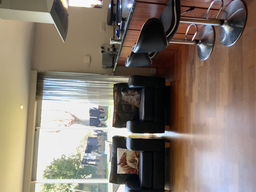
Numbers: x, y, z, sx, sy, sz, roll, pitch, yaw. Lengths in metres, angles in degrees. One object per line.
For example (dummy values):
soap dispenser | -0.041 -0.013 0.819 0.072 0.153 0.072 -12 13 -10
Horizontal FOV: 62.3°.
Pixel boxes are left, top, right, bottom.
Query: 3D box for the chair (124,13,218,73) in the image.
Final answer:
chair | 0.410 -0.560 2.270 0.410 0.840 0.510 -113 27 -72

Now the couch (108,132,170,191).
couch | 0.130 1.130 3.580 0.930 0.860 0.920 150 122 -81

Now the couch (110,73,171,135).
couch | 0.160 0.160 3.690 0.960 0.860 0.910 150 122 -81
